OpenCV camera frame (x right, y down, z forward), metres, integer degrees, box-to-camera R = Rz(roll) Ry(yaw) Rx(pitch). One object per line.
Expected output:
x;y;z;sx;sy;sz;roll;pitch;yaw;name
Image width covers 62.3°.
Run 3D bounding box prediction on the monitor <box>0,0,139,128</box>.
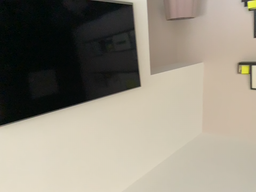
-0.360;-0.280;1.430;0.060;0.710;1.210;8;-163;43;monitor
